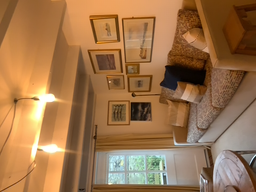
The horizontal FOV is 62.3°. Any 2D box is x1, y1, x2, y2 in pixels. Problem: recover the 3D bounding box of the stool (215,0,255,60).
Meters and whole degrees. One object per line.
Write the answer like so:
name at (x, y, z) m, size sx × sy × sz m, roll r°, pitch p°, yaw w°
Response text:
stool at (1.110, -0.600, 1.800) m, size 0.310 × 0.530 × 0.500 m, roll 88°, pitch -178°, yaw -58°
